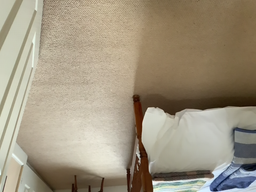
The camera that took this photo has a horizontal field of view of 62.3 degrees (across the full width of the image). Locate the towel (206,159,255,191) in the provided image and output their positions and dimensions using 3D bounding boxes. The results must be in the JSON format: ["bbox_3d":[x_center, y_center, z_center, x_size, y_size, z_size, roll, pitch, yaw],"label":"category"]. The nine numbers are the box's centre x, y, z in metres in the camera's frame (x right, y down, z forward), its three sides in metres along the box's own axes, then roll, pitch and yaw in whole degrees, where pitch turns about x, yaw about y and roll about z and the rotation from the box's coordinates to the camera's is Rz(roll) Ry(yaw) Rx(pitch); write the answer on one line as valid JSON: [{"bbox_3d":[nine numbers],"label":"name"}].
[{"bbox_3d":[0.820,0.590,1.570,0.330,0.060,0.510,-4,142,-3],"label":"towel"}]
